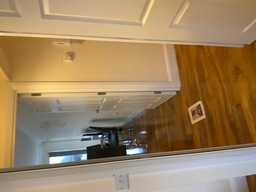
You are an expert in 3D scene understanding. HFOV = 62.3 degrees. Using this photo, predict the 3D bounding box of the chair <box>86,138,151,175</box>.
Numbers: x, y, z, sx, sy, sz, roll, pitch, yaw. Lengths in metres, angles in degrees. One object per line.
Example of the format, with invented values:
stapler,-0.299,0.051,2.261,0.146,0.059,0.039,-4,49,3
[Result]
chair,-0.220,1.170,4.100,0.660,1.080,0.510,123,142,-62
